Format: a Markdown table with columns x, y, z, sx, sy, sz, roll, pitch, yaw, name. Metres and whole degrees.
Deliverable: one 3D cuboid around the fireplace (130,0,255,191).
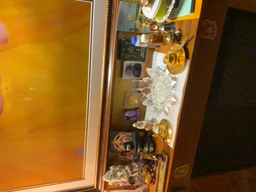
| x | y | z | sx | sy | sz | roll | pitch | yaw | name |
| --- | --- | --- | --- | --- | --- | --- | --- | --- | --- |
| 0.570 | 0.010 | 0.980 | 0.230 | 1.000 | 1.030 | -140 | 53 | -60 | fireplace |
